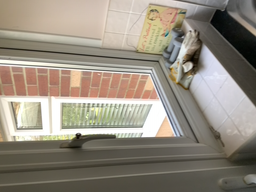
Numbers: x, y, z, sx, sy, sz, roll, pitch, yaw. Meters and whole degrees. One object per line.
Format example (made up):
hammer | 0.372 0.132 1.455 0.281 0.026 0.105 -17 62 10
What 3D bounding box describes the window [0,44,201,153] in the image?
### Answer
window | -0.230 -0.020 0.850 0.510 0.950 0.050 -106 25 -43
